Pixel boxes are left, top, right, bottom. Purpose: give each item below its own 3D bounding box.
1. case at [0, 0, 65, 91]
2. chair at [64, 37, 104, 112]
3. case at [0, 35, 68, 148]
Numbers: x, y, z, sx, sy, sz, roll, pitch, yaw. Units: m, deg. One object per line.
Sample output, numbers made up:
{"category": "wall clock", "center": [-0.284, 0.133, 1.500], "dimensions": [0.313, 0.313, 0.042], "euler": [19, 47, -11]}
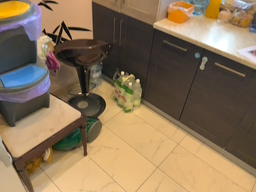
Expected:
{"category": "case", "center": [-0.710, -0.320, 1.060], "dimensions": [0.610, 0.270, 0.470], "euler": [33, 48, 28]}
{"category": "chair", "center": [-0.370, -0.170, 1.900], "dimensions": [0.300, 0.620, 0.270], "euler": [0, 41, -8]}
{"category": "case", "center": [-0.680, -0.060, 1.210], "dimensions": [0.470, 0.310, 0.420], "euler": [31, 46, 25]}
